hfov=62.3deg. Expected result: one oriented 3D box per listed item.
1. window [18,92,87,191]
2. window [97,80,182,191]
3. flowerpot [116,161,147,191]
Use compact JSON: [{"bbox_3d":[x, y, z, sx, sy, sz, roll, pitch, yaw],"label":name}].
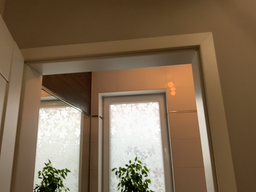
[{"bbox_3d":[-0.940,0.690,2.710,0.770,1.460,0.140,-2,-15,4],"label":"window"},{"bbox_3d":[0.120,0.700,2.510,0.930,1.720,0.210,-4,-16,9],"label":"window"},{"bbox_3d":[0.040,1.060,2.370,0.320,0.610,0.290,-2,-15,1],"label":"flowerpot"}]
